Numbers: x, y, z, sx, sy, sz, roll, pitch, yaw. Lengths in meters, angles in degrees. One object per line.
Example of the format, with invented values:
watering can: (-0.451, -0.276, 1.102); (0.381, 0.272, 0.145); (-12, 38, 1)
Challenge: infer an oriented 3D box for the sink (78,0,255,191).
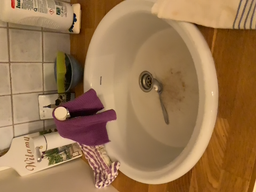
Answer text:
sink: (0.070, -0.010, 0.600); (0.460, 0.200, 0.470); (19, 109, 45)
